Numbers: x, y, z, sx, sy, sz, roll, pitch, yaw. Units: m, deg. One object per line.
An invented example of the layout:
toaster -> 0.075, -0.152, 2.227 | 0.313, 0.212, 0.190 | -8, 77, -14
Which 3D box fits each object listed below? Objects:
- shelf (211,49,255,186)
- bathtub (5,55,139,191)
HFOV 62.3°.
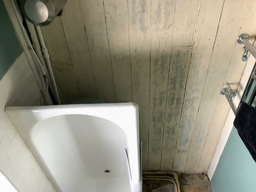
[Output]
shelf -> 0.800, 0.100, 1.310 | 0.290, 0.690, 0.480 | -4, 132, 4
bathtub -> -0.260, 0.500, 1.860 | 0.700, 0.520, 1.640 | -2, 133, 2
